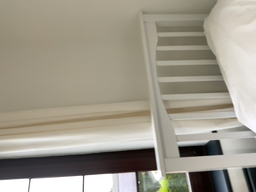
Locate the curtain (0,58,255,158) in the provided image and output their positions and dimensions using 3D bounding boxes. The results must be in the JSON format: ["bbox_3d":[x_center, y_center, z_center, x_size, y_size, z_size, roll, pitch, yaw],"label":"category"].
[{"bbox_3d":[-0.330,0.070,1.140,0.200,1.940,0.430,93,173,-62],"label":"curtain"}]
